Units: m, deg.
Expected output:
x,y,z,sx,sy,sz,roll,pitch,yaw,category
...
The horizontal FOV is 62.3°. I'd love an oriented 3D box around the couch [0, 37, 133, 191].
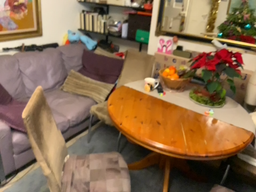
x,y,z,sx,sy,sz,roll,pitch,yaw,category
-0.890,-0.050,2.450,0.960,0.850,1.940,19,29,26,couch
